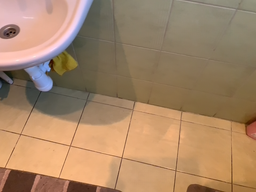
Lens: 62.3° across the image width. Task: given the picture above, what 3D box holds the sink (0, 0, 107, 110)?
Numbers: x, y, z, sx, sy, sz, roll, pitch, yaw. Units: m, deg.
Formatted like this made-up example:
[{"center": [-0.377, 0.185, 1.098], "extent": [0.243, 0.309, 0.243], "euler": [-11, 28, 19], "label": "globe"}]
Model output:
[{"center": [-0.370, -0.230, 0.620], "extent": [0.520, 0.160, 0.410], "euler": [12, 62, 4], "label": "sink"}]
